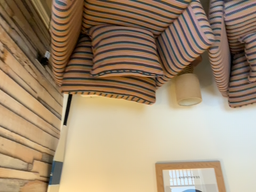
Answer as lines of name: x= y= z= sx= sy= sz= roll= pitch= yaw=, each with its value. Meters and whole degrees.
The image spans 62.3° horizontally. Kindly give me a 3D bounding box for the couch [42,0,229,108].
couch: x=-0.050 y=-0.460 z=1.400 sx=0.860 sy=0.780 sz=0.780 roll=7 pitch=154 yaw=-20
